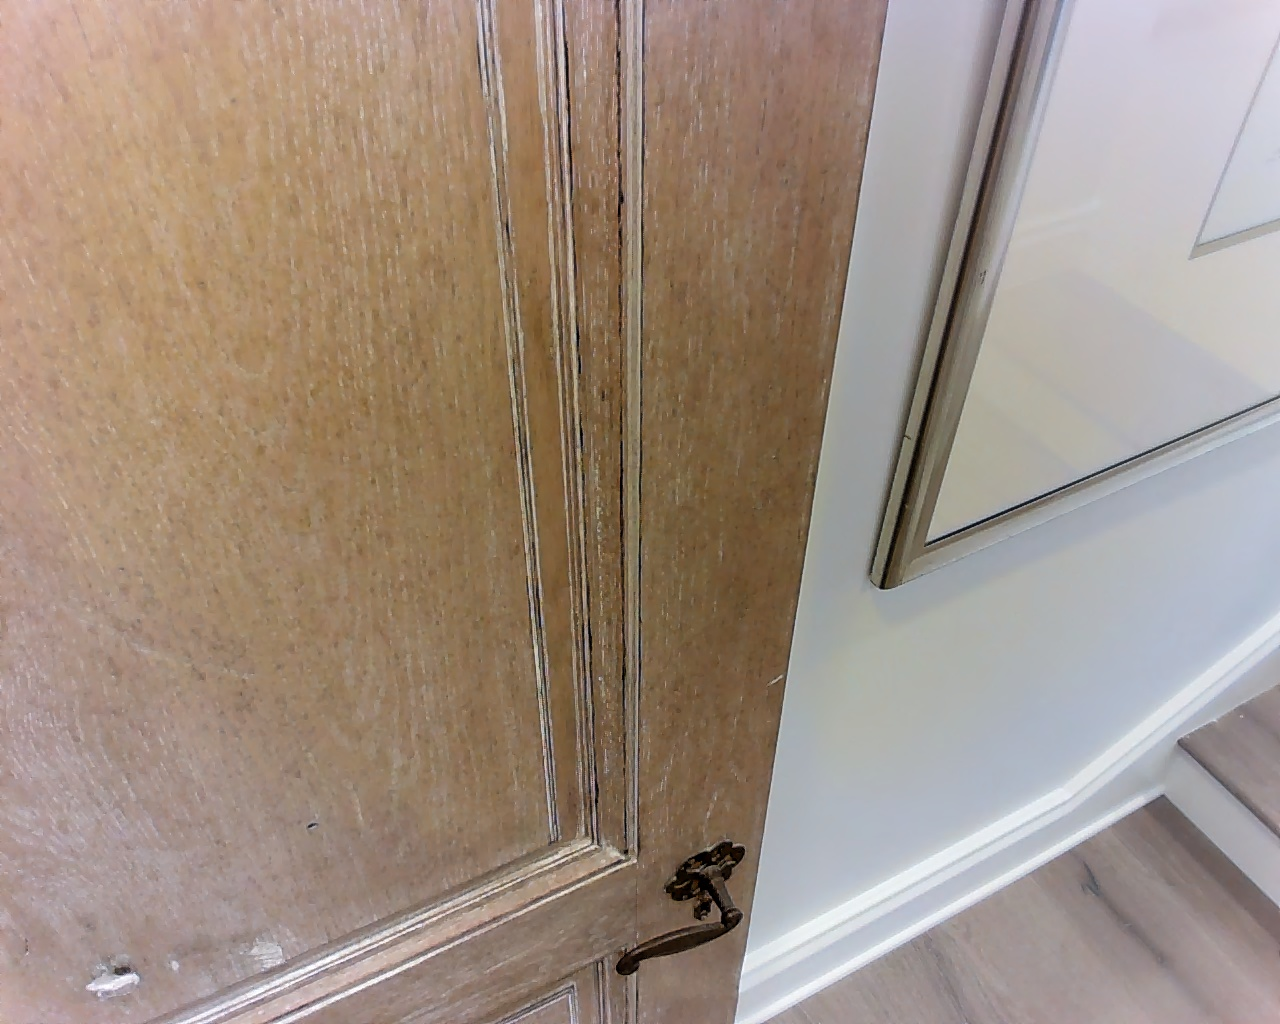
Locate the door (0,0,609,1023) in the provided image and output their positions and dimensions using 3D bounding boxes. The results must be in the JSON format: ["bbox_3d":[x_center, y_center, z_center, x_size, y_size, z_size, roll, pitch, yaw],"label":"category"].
[{"bbox_3d":[-0.250,-0.130,0.330,0.490,1.240,0.020,-19,45,-20],"label":"door"}]
